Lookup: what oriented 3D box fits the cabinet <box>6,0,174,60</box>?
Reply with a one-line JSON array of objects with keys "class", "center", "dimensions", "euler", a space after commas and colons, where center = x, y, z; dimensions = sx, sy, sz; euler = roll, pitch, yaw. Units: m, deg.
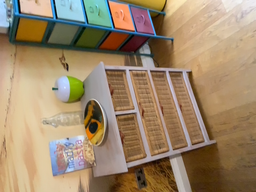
[{"class": "cabinet", "center": [-0.230, -0.560, 1.730], "dimensions": [0.340, 1.290, 0.320], "euler": [-34, 65, 49]}]
